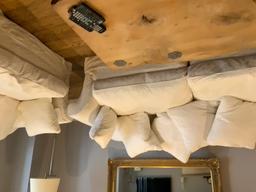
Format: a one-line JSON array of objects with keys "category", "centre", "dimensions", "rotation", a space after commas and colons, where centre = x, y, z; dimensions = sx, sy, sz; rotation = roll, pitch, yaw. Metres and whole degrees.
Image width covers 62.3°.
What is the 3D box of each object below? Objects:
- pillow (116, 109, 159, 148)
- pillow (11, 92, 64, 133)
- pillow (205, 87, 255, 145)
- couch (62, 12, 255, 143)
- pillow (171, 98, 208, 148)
[{"category": "pillow", "centre": [0.130, 0.400, 2.500], "dimensions": [0.360, 0.360, 0.490], "rotation": [-7, 160, 19]}, {"category": "pillow", "centre": [-0.950, 0.190, 2.250], "dimensions": [0.400, 0.340, 0.270], "rotation": [-7, 160, 21]}, {"category": "pillow", "centre": [0.990, 0.220, 2.030], "dimensions": [0.380, 0.420, 0.470], "rotation": [-8, 159, 23]}, {"category": "couch", "centre": [0.700, -0.040, 2.170], "dimensions": [2.440, 0.820, 1.060], "rotation": [-8, 160, 22]}, {"category": "pillow", "centre": [0.640, 0.280, 2.180], "dimensions": [0.260, 0.420, 0.260], "rotation": [12, 166, 24]}]
